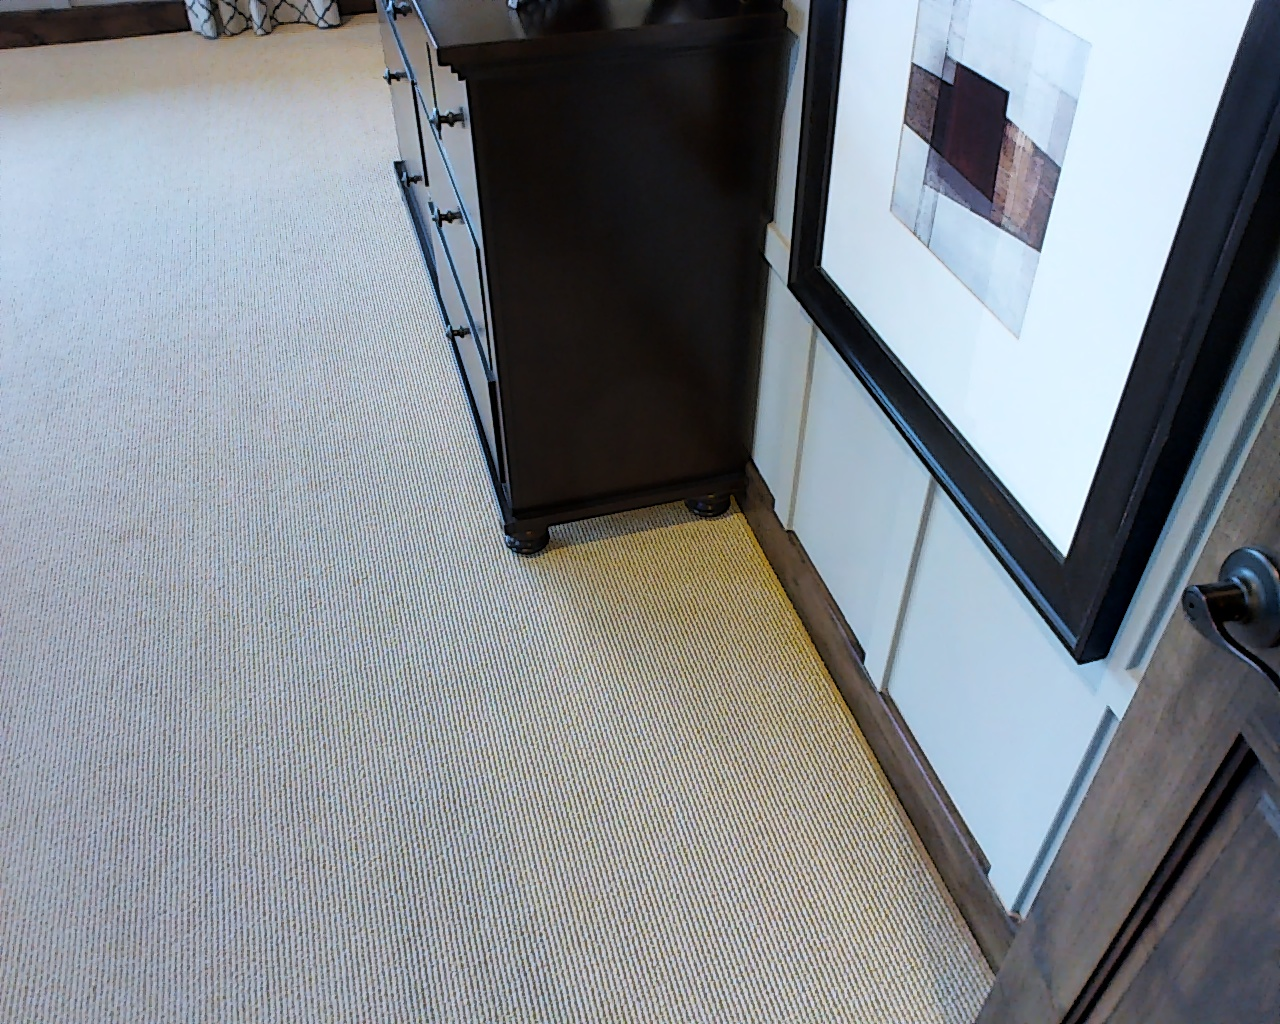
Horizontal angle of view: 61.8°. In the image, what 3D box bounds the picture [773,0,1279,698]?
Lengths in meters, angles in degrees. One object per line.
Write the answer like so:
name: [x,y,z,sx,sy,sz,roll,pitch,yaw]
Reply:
picture: [0.350,-0.370,1.060,0.080,0.790,0.780,-12,44,-13]
